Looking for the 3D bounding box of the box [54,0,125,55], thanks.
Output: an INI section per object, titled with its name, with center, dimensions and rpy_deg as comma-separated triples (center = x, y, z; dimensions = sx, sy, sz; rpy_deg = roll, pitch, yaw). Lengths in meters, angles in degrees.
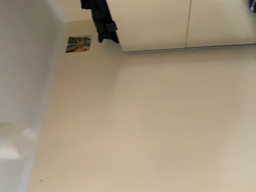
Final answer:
[box]
center = -0.360, -0.910, 2.350
dimensions = 0.750, 0.490, 0.540
rpy_deg = 70, -158, -62
